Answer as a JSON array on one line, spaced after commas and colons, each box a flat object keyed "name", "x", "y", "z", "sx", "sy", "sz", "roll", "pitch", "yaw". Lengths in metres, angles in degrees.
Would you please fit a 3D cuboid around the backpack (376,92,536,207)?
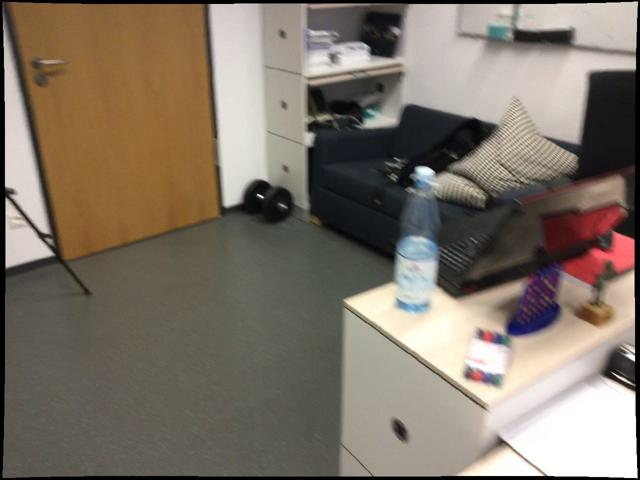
[{"name": "backpack", "x": 0.679, "y": -0.490, "z": 2.960, "sx": 0.530, "sy": 0.370, "sz": 0.550, "roll": -20, "pitch": 33, "yaw": -34}]

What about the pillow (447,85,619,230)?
[{"name": "pillow", "x": 0.999, "y": -0.420, "z": 2.750, "sx": 0.580, "sy": 0.480, "sz": 0.460, "roll": -20, "pitch": 33, "yaw": -34}]

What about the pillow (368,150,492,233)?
[{"name": "pillow", "x": 0.519, "y": -0.250, "z": 2.820, "sx": 0.270, "sy": 0.200, "sz": 0.540, "roll": -20, "pitch": 33, "yaw": -34}]

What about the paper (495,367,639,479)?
[{"name": "paper", "x": 0.499, "y": 0.350, "z": 1.000, "sx": 0.310, "sy": 0.020, "sz": 0.240, "roll": -20, "pitch": 33, "yaw": -34}]

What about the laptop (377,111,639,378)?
[{"name": "laptop", "x": 0.509, "y": -0.050, "z": 1.290, "sx": 0.550, "sy": 0.300, "sz": 0.530, "roll": -13, "pitch": 29, "yaw": -24}]
